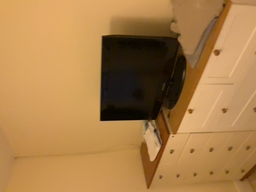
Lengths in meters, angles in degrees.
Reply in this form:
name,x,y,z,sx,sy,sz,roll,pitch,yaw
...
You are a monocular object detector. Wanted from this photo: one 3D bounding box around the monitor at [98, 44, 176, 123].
name,x,y,z,sx,sy,sz,roll,pitch,yaw
monitor,0.030,-0.050,1.400,0.630,0.430,0.050,95,169,-46
